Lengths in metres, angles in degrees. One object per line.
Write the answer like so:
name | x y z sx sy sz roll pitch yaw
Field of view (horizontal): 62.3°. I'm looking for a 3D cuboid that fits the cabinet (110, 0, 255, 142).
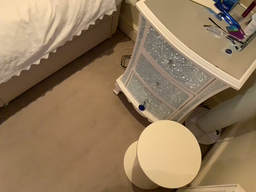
cabinet | 0.260 -0.140 1.220 0.460 0.740 0.470 44 66 10
